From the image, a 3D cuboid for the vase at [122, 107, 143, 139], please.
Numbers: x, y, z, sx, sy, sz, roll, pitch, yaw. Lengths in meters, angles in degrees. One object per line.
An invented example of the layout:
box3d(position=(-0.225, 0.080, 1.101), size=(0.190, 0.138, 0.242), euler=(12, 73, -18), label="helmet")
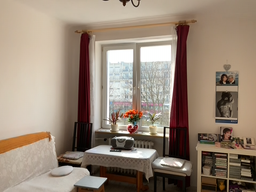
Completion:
box3d(position=(0.090, 0.480, 3.820), size=(0.290, 0.520, 0.270), euler=(1, 1, 22), label="vase")
